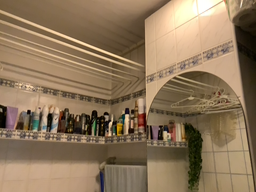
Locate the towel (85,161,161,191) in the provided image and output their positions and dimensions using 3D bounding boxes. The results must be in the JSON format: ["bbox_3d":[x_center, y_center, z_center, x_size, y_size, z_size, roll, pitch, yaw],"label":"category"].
[{"bbox_3d":[-0.060,0.720,1.450,0.170,0.520,0.600,15,-22,-41],"label":"towel"}]
